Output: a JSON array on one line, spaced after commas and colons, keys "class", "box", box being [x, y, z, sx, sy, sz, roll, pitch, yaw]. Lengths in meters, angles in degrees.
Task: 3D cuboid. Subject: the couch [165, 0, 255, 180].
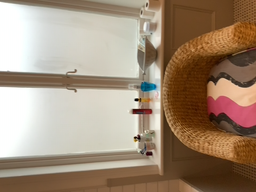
[{"class": "couch", "box": [0.770, -0.020, 1.410, 0.740, 0.770, 0.800, 180, 91, -72]}]
